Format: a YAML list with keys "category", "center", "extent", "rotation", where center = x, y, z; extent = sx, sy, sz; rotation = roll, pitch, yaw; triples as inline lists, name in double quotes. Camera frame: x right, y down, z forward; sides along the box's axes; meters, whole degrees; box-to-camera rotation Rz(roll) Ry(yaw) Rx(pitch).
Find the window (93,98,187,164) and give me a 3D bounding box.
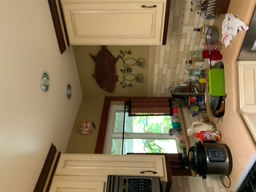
- category: "window"
  center: [0.130, 0.360, 2.500]
  extent: [0.930, 0.930, 0.110]
  rotation: [-87, -3, -52]
